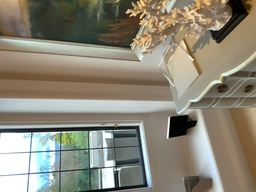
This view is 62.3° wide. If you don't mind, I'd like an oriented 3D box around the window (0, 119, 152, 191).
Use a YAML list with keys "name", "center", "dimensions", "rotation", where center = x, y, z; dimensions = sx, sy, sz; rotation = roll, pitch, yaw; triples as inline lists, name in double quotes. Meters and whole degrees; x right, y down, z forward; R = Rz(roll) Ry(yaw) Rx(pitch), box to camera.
- name: "window"
  center: [-0.440, 1.260, 1.600]
  dimensions: [0.090, 1.480, 2.250]
  rotation: [124, 143, -58]
